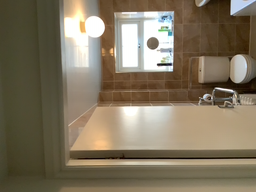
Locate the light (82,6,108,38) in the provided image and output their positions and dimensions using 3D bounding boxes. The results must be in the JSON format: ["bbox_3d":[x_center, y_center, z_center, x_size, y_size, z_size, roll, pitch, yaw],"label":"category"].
[{"bbox_3d":[-0.300,-0.660,1.930,0.240,0.210,0.230,-135,44,-78],"label":"light"}]

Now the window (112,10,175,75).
[{"bbox_3d":[0.250,-0.850,3.440,0.120,0.990,1.000,-90,0,-84],"label":"window"}]

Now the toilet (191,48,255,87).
[{"bbox_3d":[1.390,-0.360,2.720,0.690,0.960,0.430,-90,0,-82],"label":"toilet"}]
